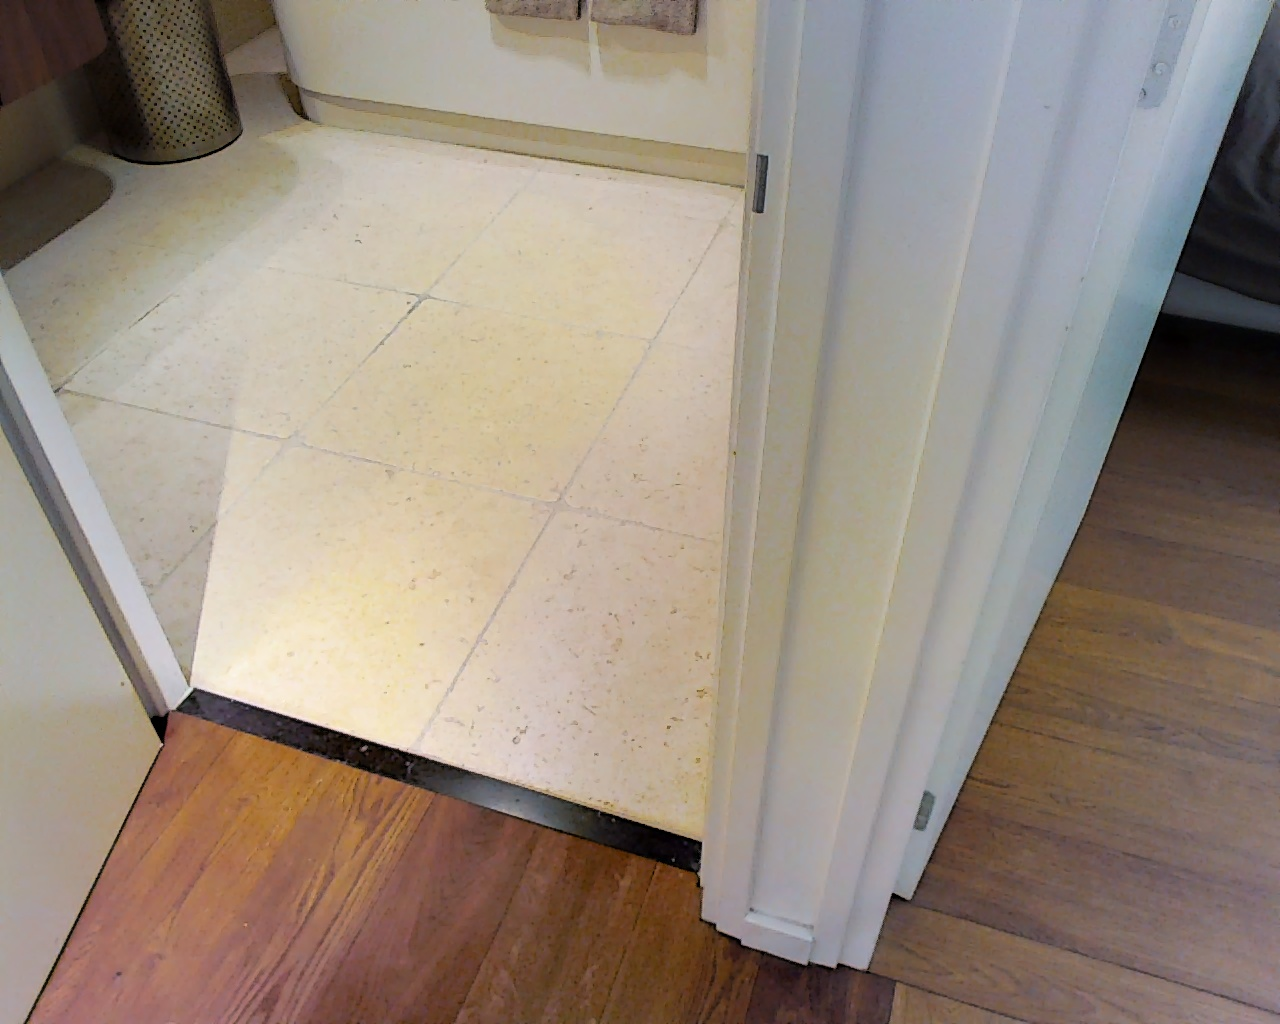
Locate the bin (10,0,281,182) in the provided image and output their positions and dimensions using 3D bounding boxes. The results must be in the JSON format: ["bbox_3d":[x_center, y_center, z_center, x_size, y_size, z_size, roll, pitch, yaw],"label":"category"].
[{"bbox_3d":[-1.470,-1.410,3.170,0.480,0.600,0.480,31,51,29],"label":"bin"}]
